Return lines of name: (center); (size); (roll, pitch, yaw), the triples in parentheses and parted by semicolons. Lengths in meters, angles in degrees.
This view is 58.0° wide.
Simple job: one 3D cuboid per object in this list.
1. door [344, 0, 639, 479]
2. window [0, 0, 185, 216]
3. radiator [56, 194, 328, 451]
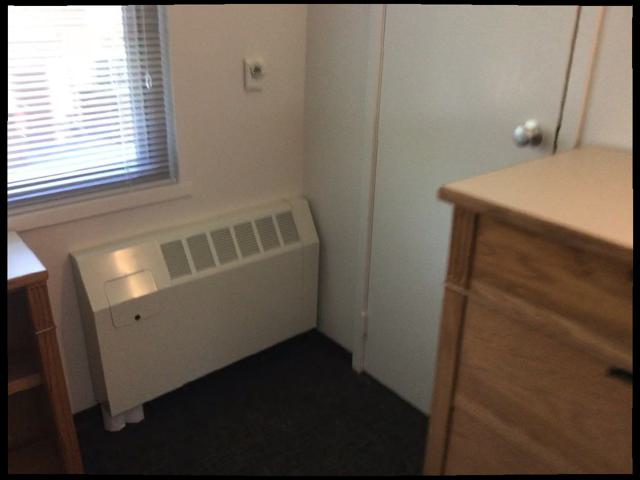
door: (0.399, -0.250, 1.660); (0.080, 1.963, 0.790); (-17, 29, -36)
window: (-1.008, -0.421, 1.490); (1.259, 0.721, 0.260); (-17, 29, -36)
radiator: (-0.389, 0.250, 2.070); (0.919, 0.651, 0.170); (-17, 29, -36)
